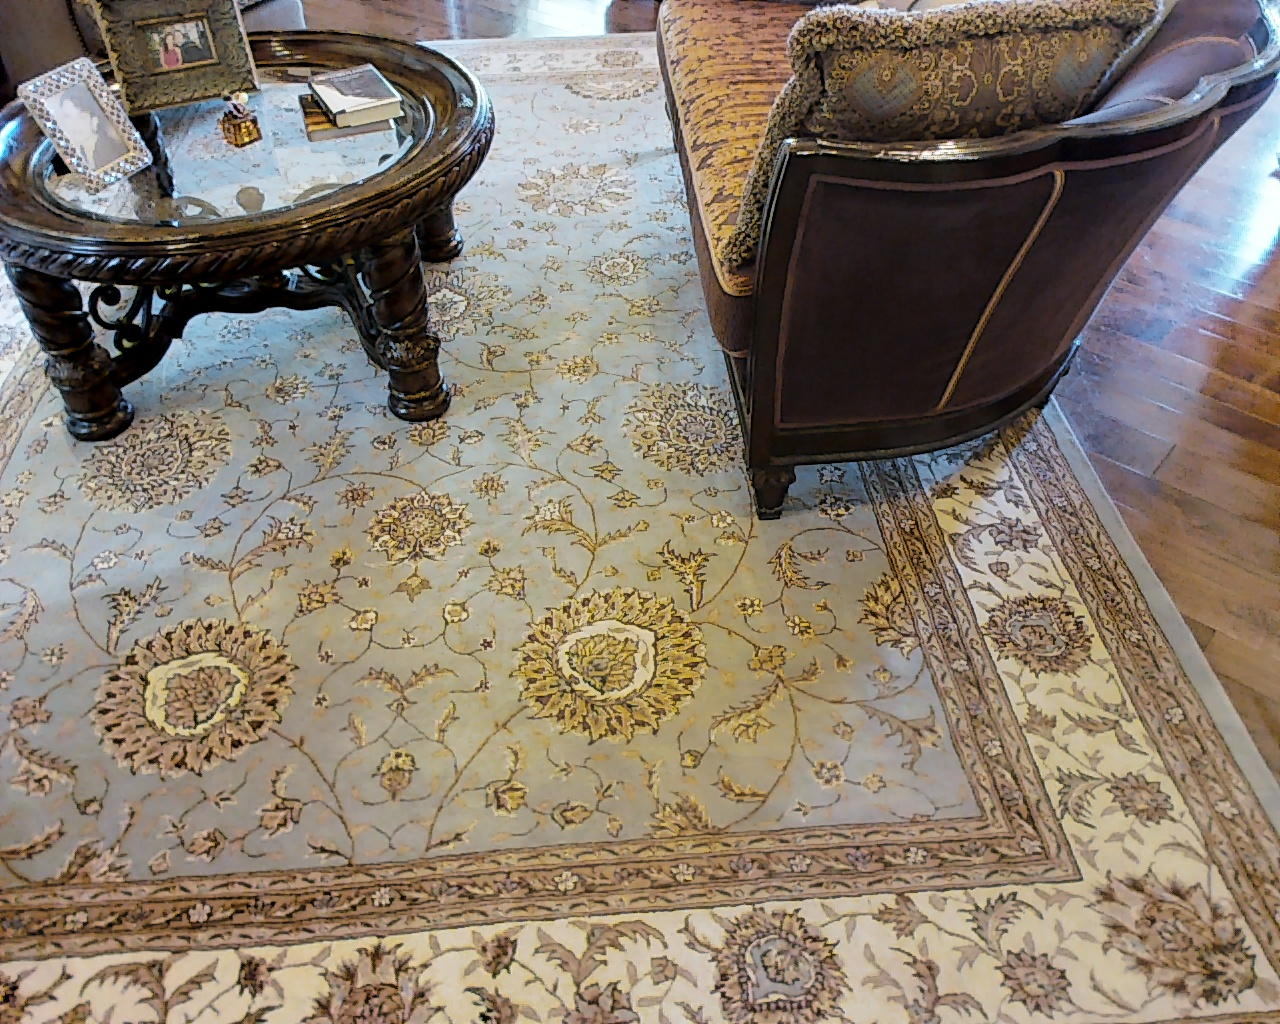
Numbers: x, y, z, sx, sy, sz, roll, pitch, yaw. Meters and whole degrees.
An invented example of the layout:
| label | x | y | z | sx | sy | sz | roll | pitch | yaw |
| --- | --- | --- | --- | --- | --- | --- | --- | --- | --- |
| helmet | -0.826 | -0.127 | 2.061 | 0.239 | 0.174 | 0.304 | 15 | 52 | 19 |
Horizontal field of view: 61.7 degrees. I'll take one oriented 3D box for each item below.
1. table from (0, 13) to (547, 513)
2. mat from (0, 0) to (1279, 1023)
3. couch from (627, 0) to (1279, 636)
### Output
| label | x | y | z | sx | sy | sz | roll | pitch | yaw |
| --- | --- | --- | --- | --- | --- | --- | --- | --- | --- |
| table | -0.900 | -0.680 | 2.660 | 1.280 | 0.600 | 1.260 | -4 | 43 | -1 |
| mat | -0.510 | -0.550 | 2.870 | 2.930 | 0.150 | 4.090 | -4 | 43 | -2 |
| couch | 0.700 | -1.010 | 2.650 | 1.350 | 1.000 | 2.480 | -4 | 43 | -1 |
